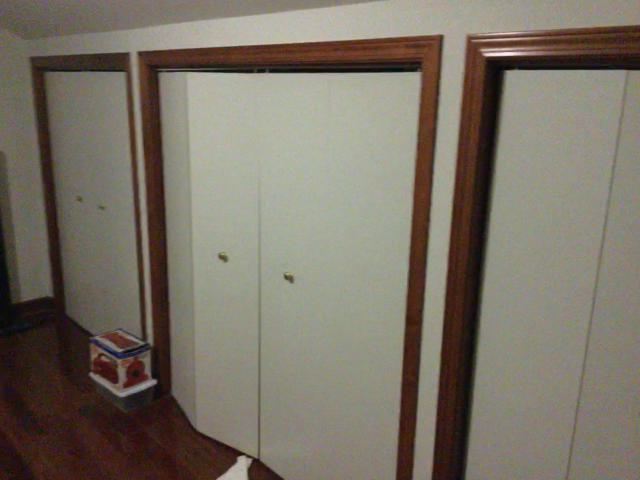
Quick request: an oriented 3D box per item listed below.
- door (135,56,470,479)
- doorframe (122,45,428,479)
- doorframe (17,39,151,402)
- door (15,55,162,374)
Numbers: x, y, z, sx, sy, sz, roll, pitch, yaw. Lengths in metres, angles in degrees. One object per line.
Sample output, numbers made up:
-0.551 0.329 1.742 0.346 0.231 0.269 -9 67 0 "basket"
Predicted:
-0.250 0.150 2.190 0.150 1.600 1.600 -10 20 -41 "door"
-0.330 0.110 2.230 0.160 1.600 1.540 -10 20 -41 "doorframe"
-1.320 -0.180 3.190 0.140 1.690 1.360 -11 25 -41 "doorframe"
-1.260 -0.210 3.100 0.270 1.470 1.150 -10 20 -41 "door"
